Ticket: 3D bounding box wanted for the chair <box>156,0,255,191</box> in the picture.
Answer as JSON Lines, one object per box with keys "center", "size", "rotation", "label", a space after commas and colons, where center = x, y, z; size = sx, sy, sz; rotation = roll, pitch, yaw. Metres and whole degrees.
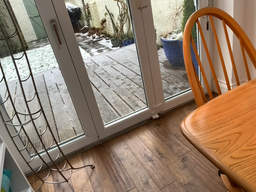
{"center": [0.500, 0.170, 0.850], "size": [0.410, 0.970, 0.560], "rotation": [-22, 29, -17], "label": "chair"}
